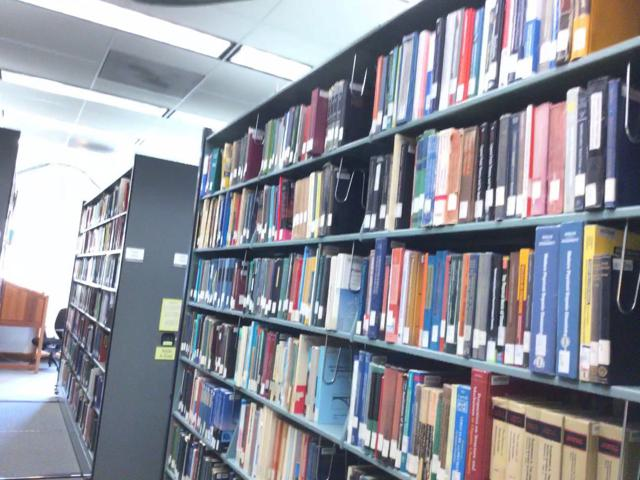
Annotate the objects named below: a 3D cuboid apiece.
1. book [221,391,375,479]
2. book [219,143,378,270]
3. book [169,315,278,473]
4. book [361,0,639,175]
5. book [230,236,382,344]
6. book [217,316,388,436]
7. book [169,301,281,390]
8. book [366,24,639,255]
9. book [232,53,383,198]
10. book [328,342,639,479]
[{"bbox_3d":[-0.120,0.780,2.190,0.210,0.280,0.800,11,-10,-28],"label":"book"},{"bbox_3d":[-0.140,-0.090,2.400,0.170,0.370,1.010,11,-10,-28],"label":"book"},{"bbox_3d":[-0.500,0.710,2.850,0.180,0.630,0.800,11,-10,-28],"label":"book"},{"bbox_3d":[0.400,-0.430,1.470,0.160,0.370,0.760,11,-10,-28],"label":"book"},{"bbox_3d":[-0.100,0.190,2.180,0.100,0.320,0.950,11,-10,-28],"label":"book"},{"bbox_3d":[-0.110,0.500,2.270,0.260,0.340,0.860,11,-10,-28],"label":"book"},{"bbox_3d":[-0.510,0.510,2.940,0.230,0.360,0.860,11,-10,-28],"label":"book"},{"bbox_3d":[0.400,-0.170,1.370,0.140,0.350,0.770,11,-10,-28],"label":"book"},{"bbox_3d":[-0.090,-0.410,2.320,0.180,0.330,0.870,11,-10,-28],"label":"book"},{"bbox_3d":[0.380,0.450,1.350,0.250,0.330,0.930,11,-10,-28],"label":"book"}]
